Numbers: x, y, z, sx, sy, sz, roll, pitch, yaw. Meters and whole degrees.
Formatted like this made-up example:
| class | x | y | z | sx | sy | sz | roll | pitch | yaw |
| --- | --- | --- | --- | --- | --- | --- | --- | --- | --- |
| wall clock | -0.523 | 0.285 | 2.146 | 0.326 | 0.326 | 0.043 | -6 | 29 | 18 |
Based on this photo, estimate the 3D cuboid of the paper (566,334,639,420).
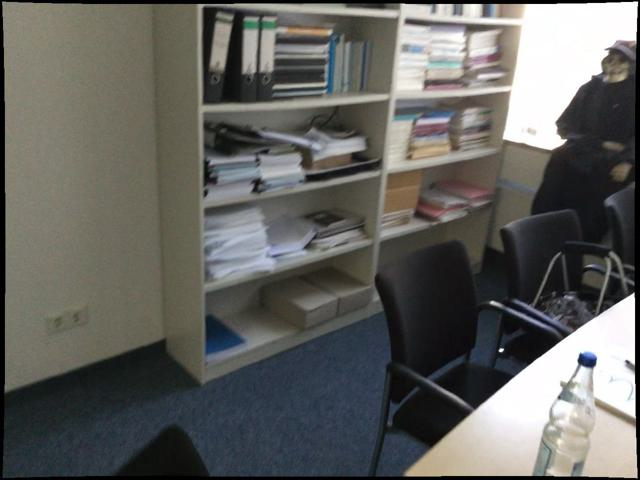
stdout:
| class | x | y | z | sx | sy | sz | roll | pitch | yaw |
| --- | --- | --- | --- | --- | --- | --- | --- | --- | --- |
| paper | 0.759 | 0.330 | 1.340 | 0.260 | 0.030 | 0.260 | -18 | 31 | -39 |

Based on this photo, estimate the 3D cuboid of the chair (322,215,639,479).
| class | x | y | z | sx | sy | sz | roll | pitch | yaw |
| --- | --- | --- | --- | --- | --- | --- | --- | --- | --- |
| chair | 0.460 | 0.450 | 1.680 | 0.590 | 0.781 | 0.650 | -18 | 31 | -39 |

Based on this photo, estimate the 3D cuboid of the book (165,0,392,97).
| class | x | y | z | sx | sy | sz | roll | pitch | yaw |
| --- | --- | --- | --- | --- | --- | --- | --- | --- | --- |
| book | -0.140 | -0.821 | 2.350 | 0.890 | 0.350 | 0.320 | -18 | 31 | -39 |

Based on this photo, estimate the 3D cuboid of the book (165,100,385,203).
| class | x | y | z | sx | sy | sz | roll | pitch | yaw |
| --- | --- | --- | --- | --- | --- | --- | --- | --- | --- |
| book | -0.160 | -0.410 | 2.480 | 0.920 | 0.250 | 0.320 | -18 | 31 | -39 |

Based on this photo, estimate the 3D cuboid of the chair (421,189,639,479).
| class | x | y | z | sx | sy | sz | roll | pitch | yaw |
| --- | --- | --- | --- | --- | --- | --- | --- | --- | --- |
| chair | 0.829 | 0.340 | 1.980 | 0.670 | 0.791 | 0.580 | -18 | 31 | -39 |

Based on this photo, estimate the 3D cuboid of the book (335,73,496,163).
| class | x | y | z | sx | sy | sz | roll | pitch | yaw |
| --- | --- | --- | --- | --- | --- | --- | --- | --- | --- |
| book | 0.509 | -0.661 | 3.010 | 0.850 | 0.320 | 0.340 | -18 | 31 | -39 |

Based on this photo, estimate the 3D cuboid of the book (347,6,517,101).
| class | x | y | z | sx | sy | sz | roll | pitch | yaw |
| --- | --- | --- | --- | --- | --- | --- | --- | --- | --- |
| book | 0.579 | -0.951 | 2.890 | 0.950 | 0.380 | 0.270 | -18 | 31 | -39 |

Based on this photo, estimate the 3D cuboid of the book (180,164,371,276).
| class | x | y | z | sx | sy | sz | roll | pitch | yaw |
| --- | --- | --- | --- | --- | --- | --- | --- | --- | --- |
| book | -0.170 | -0.120 | 2.600 | 0.880 | 0.260 | 0.240 | -18 | 31 | -39 |
